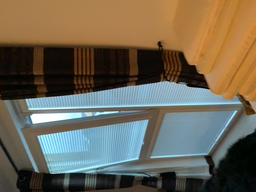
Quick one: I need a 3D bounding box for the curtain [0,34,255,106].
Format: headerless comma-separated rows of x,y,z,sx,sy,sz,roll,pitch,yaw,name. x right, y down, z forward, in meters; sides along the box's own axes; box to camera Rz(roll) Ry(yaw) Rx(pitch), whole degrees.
0.040,-0.170,1.510,0.450,2.130,0.180,99,166,-45,curtain

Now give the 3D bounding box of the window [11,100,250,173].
0.060,0.470,2.300,1.120,2.160,0.050,99,166,-45,window

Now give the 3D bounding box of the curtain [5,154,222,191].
-0.100,1.020,2.550,0.610,2.330,0.210,99,166,-45,curtain
